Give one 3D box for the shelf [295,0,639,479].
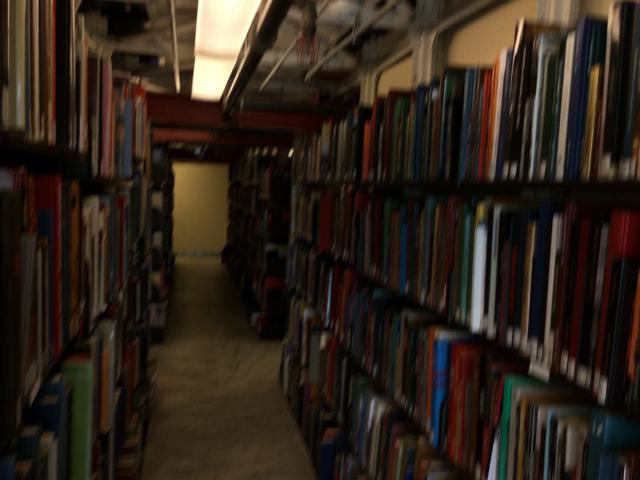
[{"bbox_3d":[0.410,0.360,1.970,0.430,1.850,2.570,2,6,-13],"label":"shelf"}]
